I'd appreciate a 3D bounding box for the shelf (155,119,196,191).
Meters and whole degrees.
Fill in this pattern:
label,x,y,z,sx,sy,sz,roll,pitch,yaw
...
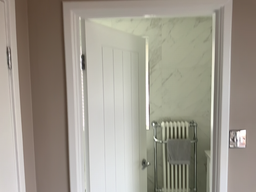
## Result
label,x,y,z,sx,sy,sz,roll,pitch,yaw
shelf,0.570,0.800,2.580,0.440,1.020,0.200,-1,5,2
